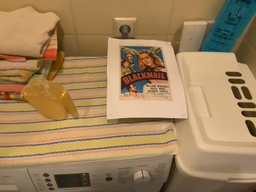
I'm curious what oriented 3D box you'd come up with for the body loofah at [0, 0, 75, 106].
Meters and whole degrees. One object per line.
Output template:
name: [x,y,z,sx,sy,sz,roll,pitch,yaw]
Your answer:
body loofah: [-0.330,-0.130,0.610,0.300,0.170,0.270,0,50,-4]
